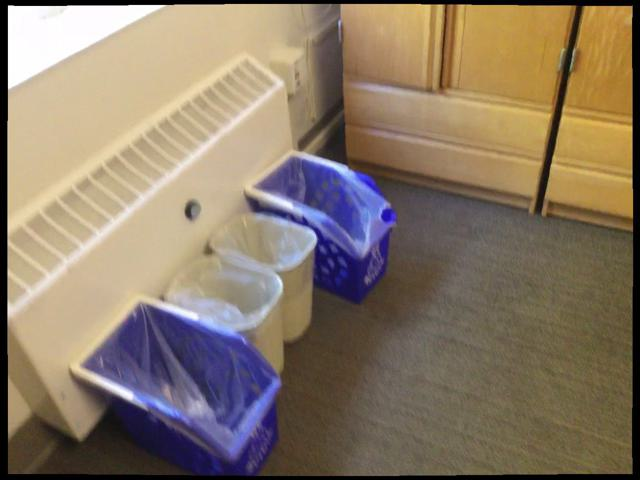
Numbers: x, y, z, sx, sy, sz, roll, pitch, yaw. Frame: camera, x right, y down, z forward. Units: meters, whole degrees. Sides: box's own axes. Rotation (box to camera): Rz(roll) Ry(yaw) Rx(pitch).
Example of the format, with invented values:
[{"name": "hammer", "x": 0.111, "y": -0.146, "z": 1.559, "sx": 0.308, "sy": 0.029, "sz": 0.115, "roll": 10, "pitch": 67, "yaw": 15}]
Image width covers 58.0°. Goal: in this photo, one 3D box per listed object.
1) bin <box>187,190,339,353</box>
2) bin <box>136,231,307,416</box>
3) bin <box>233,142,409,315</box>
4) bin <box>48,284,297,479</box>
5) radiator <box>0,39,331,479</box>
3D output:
[{"name": "bin", "x": -0.160, "y": 0.090, "z": 1.800, "sx": 0.320, "sy": 0.320, "sz": 0.300, "roll": 15, "pitch": 45, "yaw": 23}, {"name": "bin", "x": -0.260, "y": 0.230, "z": 1.640, "sx": 0.320, "sy": 0.350, "sz": 0.280, "roll": 15, "pitch": 45, "yaw": 23}, {"name": "bin", "x": 0.020, "y": -0.050, "z": 1.930, "sx": 0.449, "sy": 0.350, "sz": 0.340, "roll": 15, "pitch": 45, "yaw": 23}, {"name": "bin", "x": -0.349, "y": 0.391, "z": 1.460, "sx": 0.469, "sy": 0.350, "sz": 0.280, "roll": 15, "pitch": 45, "yaw": 23}, {"name": "radiator", "x": -0.379, "y": -0.040, "z": 1.720, "sx": 0.260, "sy": 0.631, "sz": 1.250, "roll": 15, "pitch": 45, "yaw": 23}]
